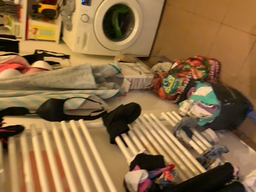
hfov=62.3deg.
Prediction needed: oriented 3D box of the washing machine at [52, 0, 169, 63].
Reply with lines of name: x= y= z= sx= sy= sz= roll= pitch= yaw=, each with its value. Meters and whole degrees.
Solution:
washing machine: x=-0.230 y=-0.800 z=2.160 sx=0.740 sy=0.850 sz=0.630 roll=46 pitch=129 yaw=47

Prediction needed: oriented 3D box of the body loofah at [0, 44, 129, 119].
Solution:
body loofah: x=-0.500 y=-0.100 z=1.170 sx=0.460 sy=0.880 sz=0.190 roll=47 pitch=130 yaw=46
